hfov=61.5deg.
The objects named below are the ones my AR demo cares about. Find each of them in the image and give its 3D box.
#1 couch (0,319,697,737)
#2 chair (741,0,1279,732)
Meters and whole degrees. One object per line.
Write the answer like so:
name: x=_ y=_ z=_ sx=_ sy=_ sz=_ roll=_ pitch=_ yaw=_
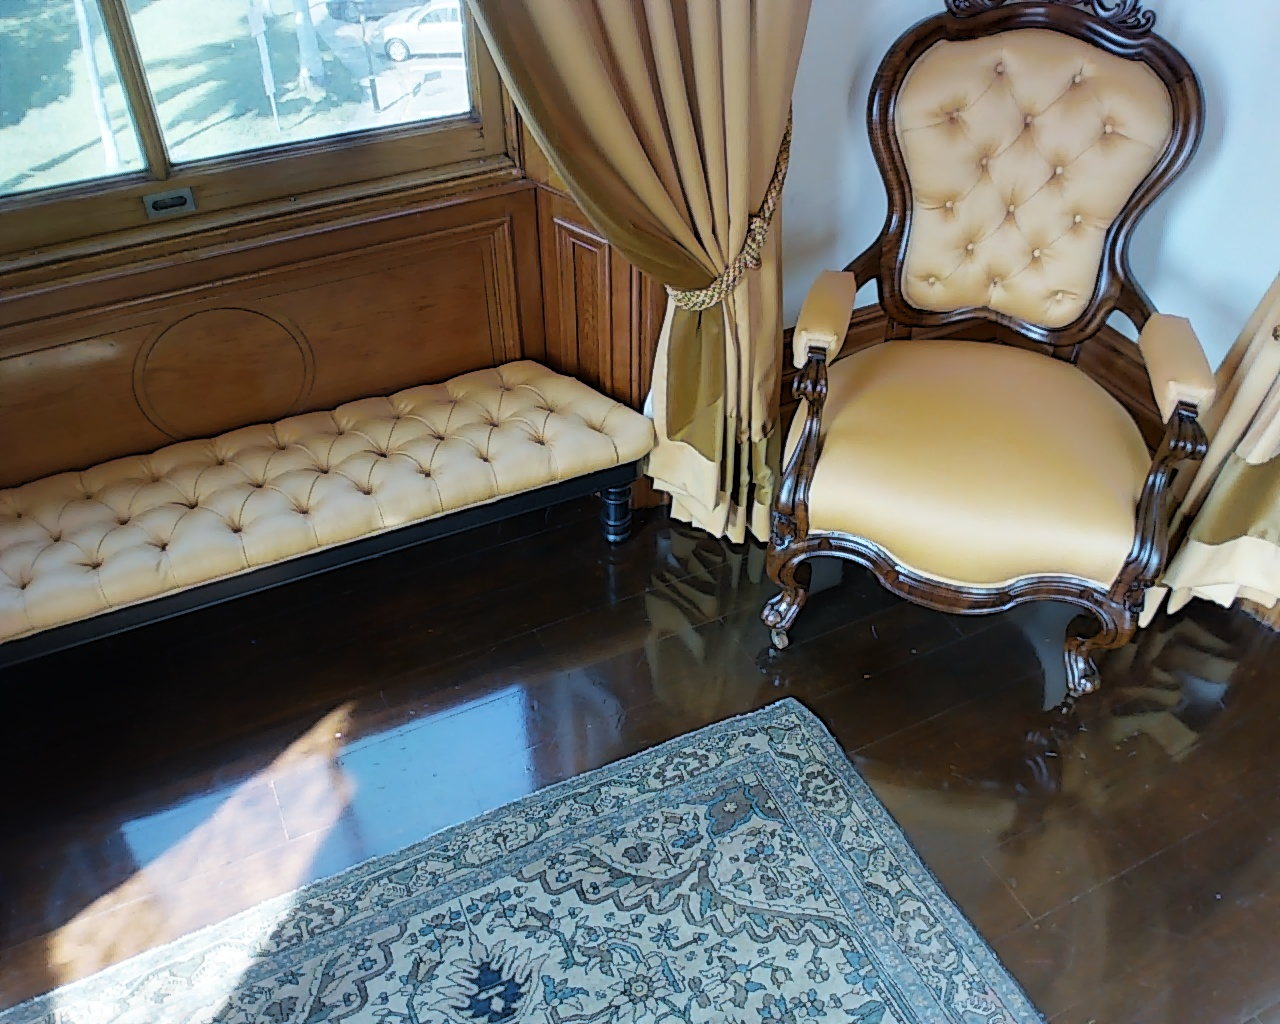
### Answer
couch: x=-0.690 y=0.010 z=2.080 sx=1.550 sy=0.270 sz=0.440 roll=-16 pitch=45 yaw=-18
chair: x=0.650 y=-0.300 z=1.950 sx=0.720 sy=0.990 sz=0.810 roll=10 pitch=43 yaw=10
